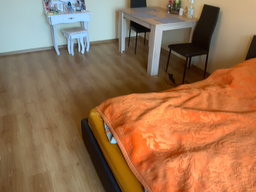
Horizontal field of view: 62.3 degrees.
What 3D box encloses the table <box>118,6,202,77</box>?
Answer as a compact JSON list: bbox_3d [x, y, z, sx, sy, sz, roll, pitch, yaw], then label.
[{"bbox_3d":[0.450,-1.010,3.660,0.810,0.760,1.250,-14,36,-23],"label":"table"}]
